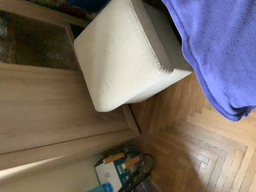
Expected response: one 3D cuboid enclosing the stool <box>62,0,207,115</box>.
[{"bbox_3d":[0.030,-0.220,1.090,0.420,0.460,0.470,-32,71,36],"label":"stool"}]
